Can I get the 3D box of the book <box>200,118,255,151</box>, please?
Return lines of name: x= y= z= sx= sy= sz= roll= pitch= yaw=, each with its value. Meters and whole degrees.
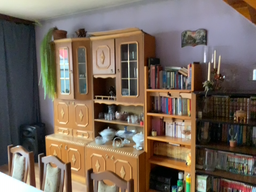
book: x=1.280 y=0.410 z=2.170 sx=1.000 sy=0.250 sz=0.170 roll=3 pitch=7 yaw=31

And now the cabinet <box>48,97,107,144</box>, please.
cabinet: x=-0.820 y=0.360 z=3.430 sx=0.840 sy=0.600 sz=0.440 roll=3 pitch=7 yaw=32

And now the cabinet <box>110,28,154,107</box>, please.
cabinet: x=0.070 y=-0.360 z=2.810 sx=0.420 sy=0.930 sz=0.410 roll=3 pitch=7 yaw=32

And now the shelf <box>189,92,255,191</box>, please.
shelf: x=1.270 y=0.670 z=2.140 sx=1.160 sy=1.360 sz=0.440 roll=3 pitch=7 yaw=32

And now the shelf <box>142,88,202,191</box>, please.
shelf: x=0.540 y=0.610 z=2.650 sx=0.630 sy=1.390 sz=0.340 roll=3 pitch=7 yaw=32

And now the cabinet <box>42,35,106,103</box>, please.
cabinet: x=-0.850 y=-0.400 z=3.330 sx=0.840 sy=0.930 sz=0.500 roll=3 pitch=7 yaw=32
